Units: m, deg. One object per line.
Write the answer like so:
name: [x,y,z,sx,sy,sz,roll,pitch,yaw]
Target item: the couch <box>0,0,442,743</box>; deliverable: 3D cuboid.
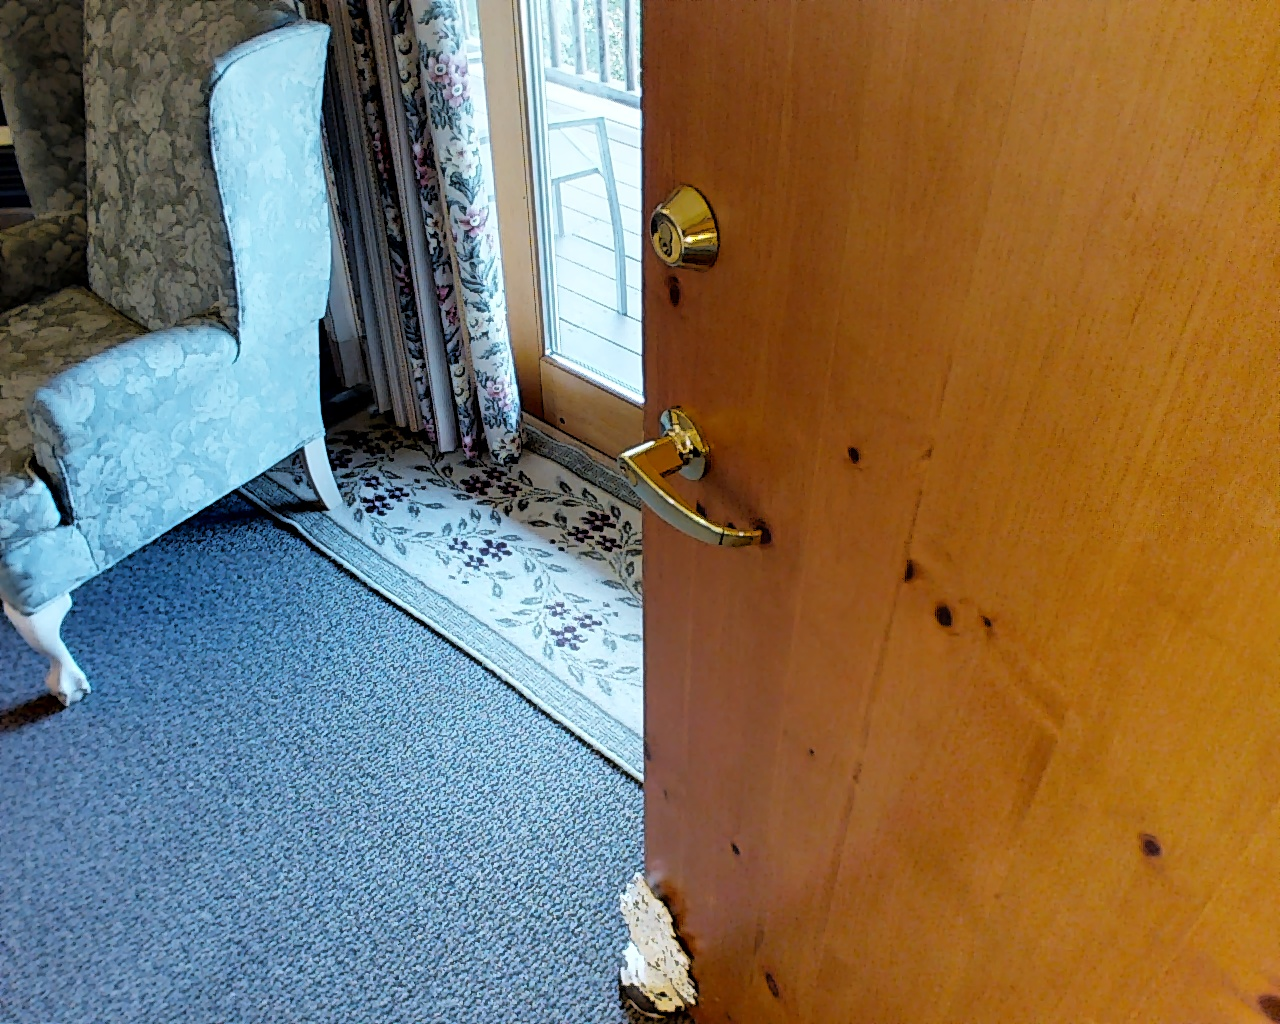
couch: [-1.080,-0.390,2.050,0.850,1.010,0.950,27,47,28]
